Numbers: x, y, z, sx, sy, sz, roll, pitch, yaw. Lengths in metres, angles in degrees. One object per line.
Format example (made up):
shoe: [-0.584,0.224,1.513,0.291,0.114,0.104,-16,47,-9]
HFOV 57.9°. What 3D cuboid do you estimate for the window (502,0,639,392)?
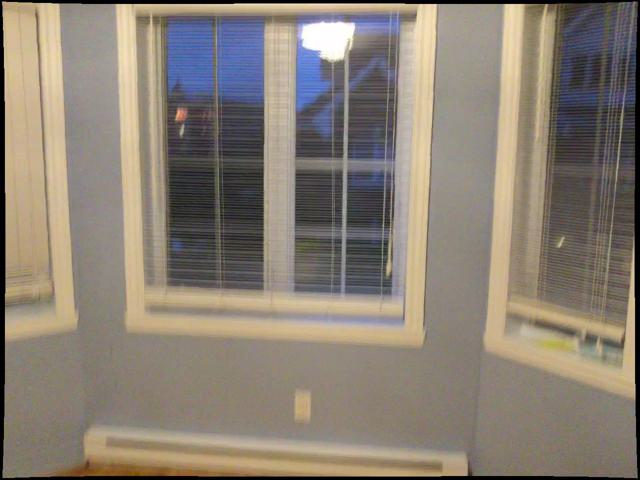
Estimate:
window: [0.869,-0.320,1.870,0.420,1.491,0.490,1,12,11]

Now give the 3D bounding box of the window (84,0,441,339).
window: [-0.220,-0.300,2.390,1.379,1.331,0.230,1,12,11]

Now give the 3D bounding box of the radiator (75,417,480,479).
radiator: [-0.220,0.931,2.460,1.728,0.180,0.110,1,12,11]
